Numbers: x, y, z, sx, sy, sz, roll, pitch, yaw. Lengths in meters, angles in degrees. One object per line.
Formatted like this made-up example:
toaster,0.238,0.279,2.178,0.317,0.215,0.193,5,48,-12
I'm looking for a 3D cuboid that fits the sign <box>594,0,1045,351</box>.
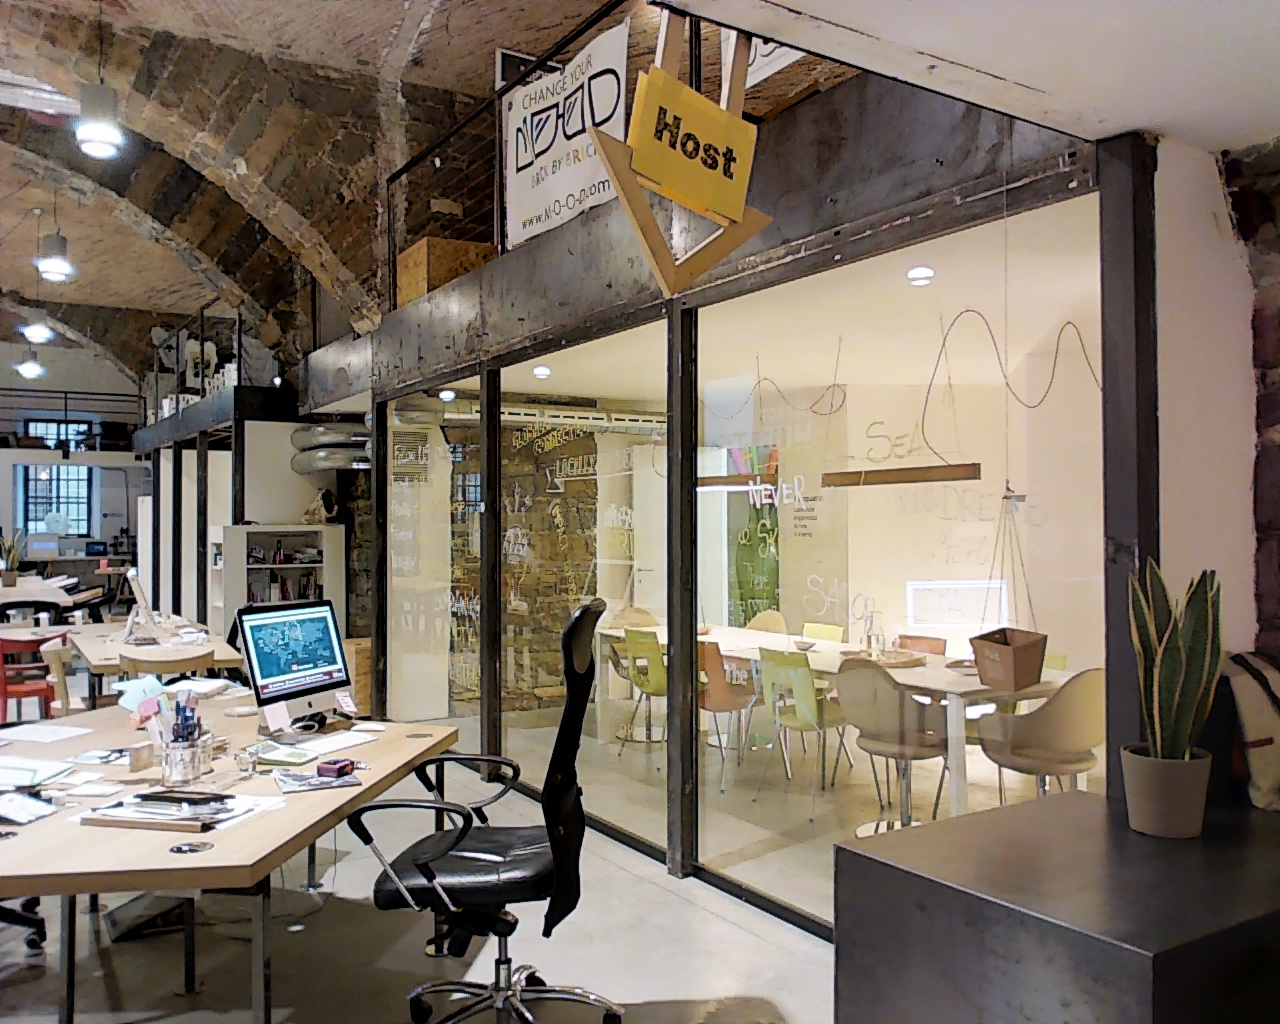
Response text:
sign,0.440,-0.850,2.330,1.160,0.890,0.130,0,-1,-31
